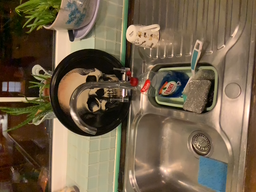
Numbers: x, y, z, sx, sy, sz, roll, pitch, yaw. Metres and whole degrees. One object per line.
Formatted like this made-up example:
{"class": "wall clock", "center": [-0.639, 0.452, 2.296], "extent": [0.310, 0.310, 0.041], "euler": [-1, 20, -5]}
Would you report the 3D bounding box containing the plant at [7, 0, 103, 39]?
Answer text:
{"class": "plant", "center": [-0.280, -0.360, 0.810], "extent": [0.240, 0.280, 0.210], "euler": [10, 98, 51]}
